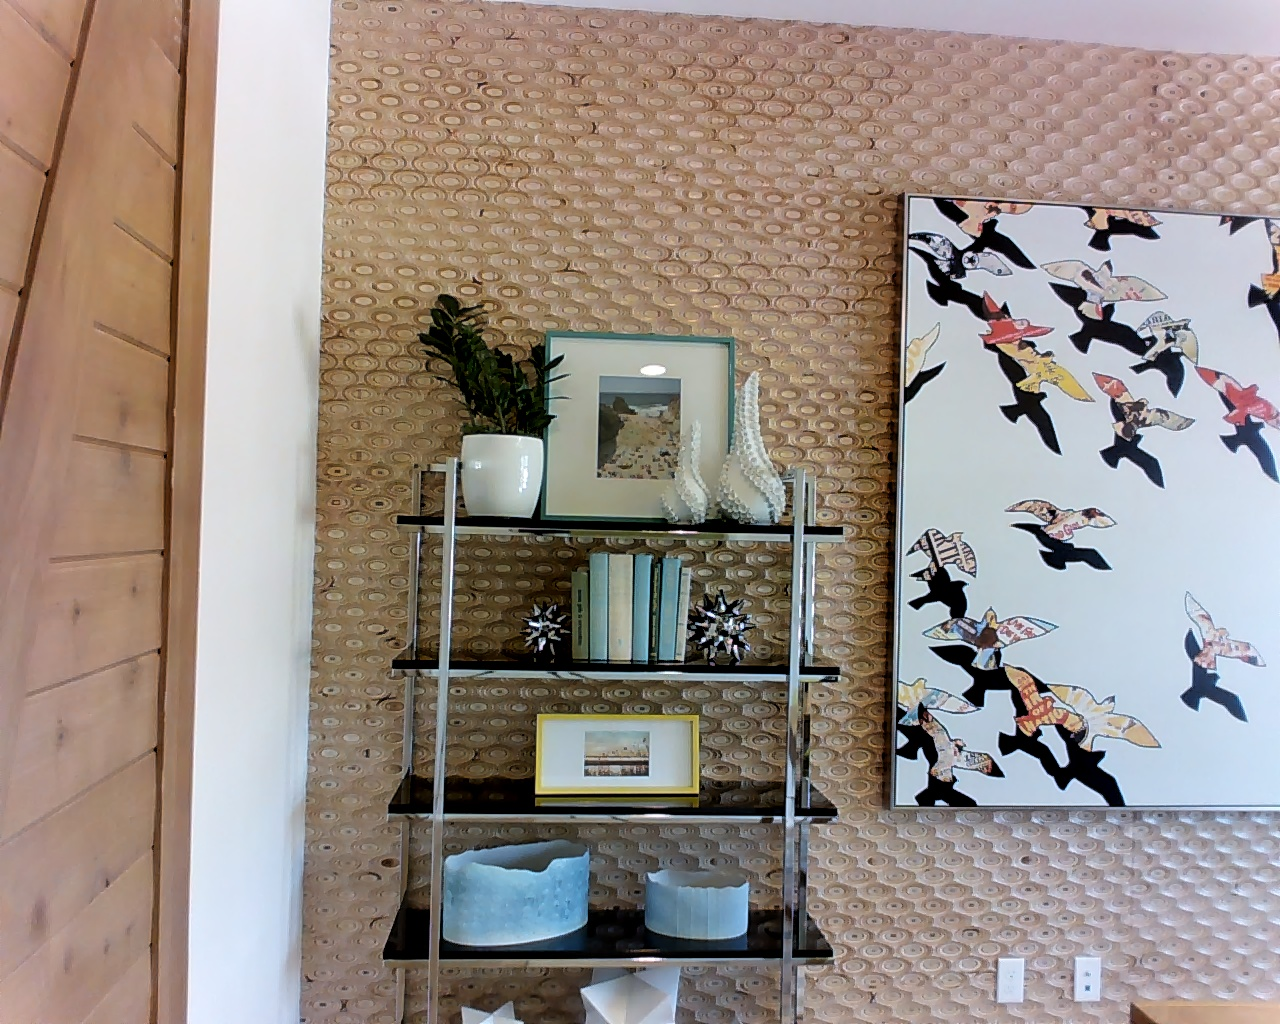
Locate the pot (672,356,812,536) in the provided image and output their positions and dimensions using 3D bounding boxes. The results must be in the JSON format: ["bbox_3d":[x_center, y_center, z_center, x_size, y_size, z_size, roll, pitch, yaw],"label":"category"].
[{"bbox_3d":[0.240,-0.150,2.570,0.300,0.410,0.190,1,-1,-5],"label":"pot"}]

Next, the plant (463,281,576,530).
[{"bbox_3d":[-0.270,-0.220,2.460,0.230,0.520,0.410,1,-1,-5],"label":"plant"}]
